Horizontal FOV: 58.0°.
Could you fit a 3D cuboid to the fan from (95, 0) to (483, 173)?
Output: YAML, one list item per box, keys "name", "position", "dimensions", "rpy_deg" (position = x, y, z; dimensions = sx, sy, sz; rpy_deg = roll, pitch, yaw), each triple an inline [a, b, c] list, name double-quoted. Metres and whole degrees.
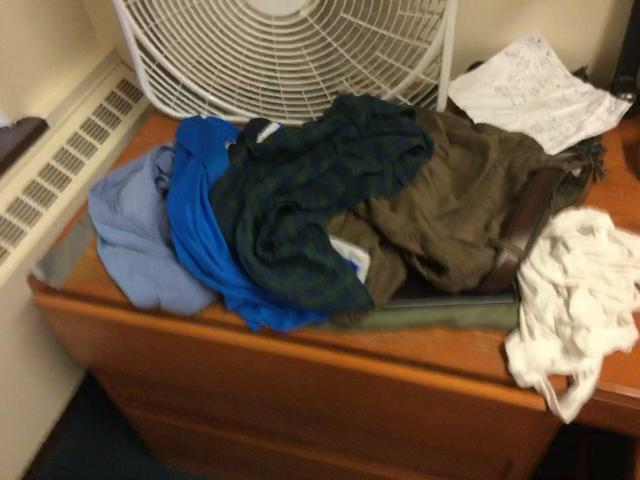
- name: "fan"
  position: [-0.040, -0.450, 0.880]
  dimensions: [0.560, 0.560, 0.290]
  rpy_deg: [11, 50, 15]
